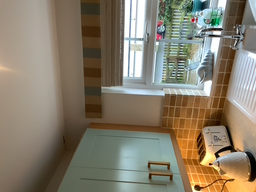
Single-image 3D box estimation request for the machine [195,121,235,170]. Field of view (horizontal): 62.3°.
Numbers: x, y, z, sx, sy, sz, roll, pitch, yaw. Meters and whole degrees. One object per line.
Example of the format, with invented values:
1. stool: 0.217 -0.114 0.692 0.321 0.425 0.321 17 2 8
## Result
1. machine: 0.700 0.400 1.750 0.270 0.180 0.280 -84 -3 -67
